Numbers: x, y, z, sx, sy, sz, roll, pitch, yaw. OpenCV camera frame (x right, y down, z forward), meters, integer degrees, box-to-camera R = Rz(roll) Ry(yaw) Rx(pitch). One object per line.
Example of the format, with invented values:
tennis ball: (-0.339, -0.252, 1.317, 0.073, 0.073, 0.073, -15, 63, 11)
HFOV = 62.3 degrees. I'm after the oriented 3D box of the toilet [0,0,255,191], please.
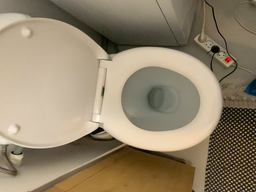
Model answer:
toilet: (0.010, 0.010, 0.790, 0.620, 0.810, 0.370, 10, 92, 20)
